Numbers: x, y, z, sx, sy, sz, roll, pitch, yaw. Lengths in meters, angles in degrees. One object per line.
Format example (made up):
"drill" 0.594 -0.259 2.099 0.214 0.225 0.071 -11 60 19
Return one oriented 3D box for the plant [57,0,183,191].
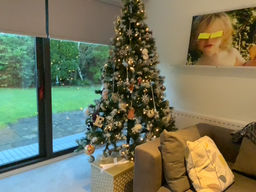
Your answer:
"plant" -0.120 -0.160 2.360 0.980 2.010 0.900 -5 11 -42
